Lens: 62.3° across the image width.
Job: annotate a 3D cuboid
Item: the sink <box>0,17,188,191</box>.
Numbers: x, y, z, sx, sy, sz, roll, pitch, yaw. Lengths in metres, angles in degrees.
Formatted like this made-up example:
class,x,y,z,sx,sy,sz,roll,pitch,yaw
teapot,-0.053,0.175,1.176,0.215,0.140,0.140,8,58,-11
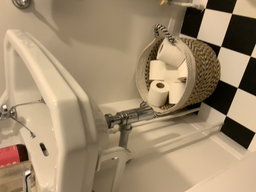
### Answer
class,x,y,z,sx,sy,sz,roll,pitch,yaw
sink,-0.210,0.060,0.600,0.590,0.290,0.420,38,127,44
